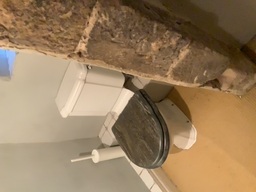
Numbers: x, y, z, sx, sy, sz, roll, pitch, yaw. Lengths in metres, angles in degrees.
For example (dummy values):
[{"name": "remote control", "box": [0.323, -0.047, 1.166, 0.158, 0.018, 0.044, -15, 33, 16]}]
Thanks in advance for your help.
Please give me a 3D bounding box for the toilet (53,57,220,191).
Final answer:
[{"name": "toilet", "box": [0.040, 0.180, 1.390, 0.410, 0.760, 0.700, -58, 48, 26]}]
